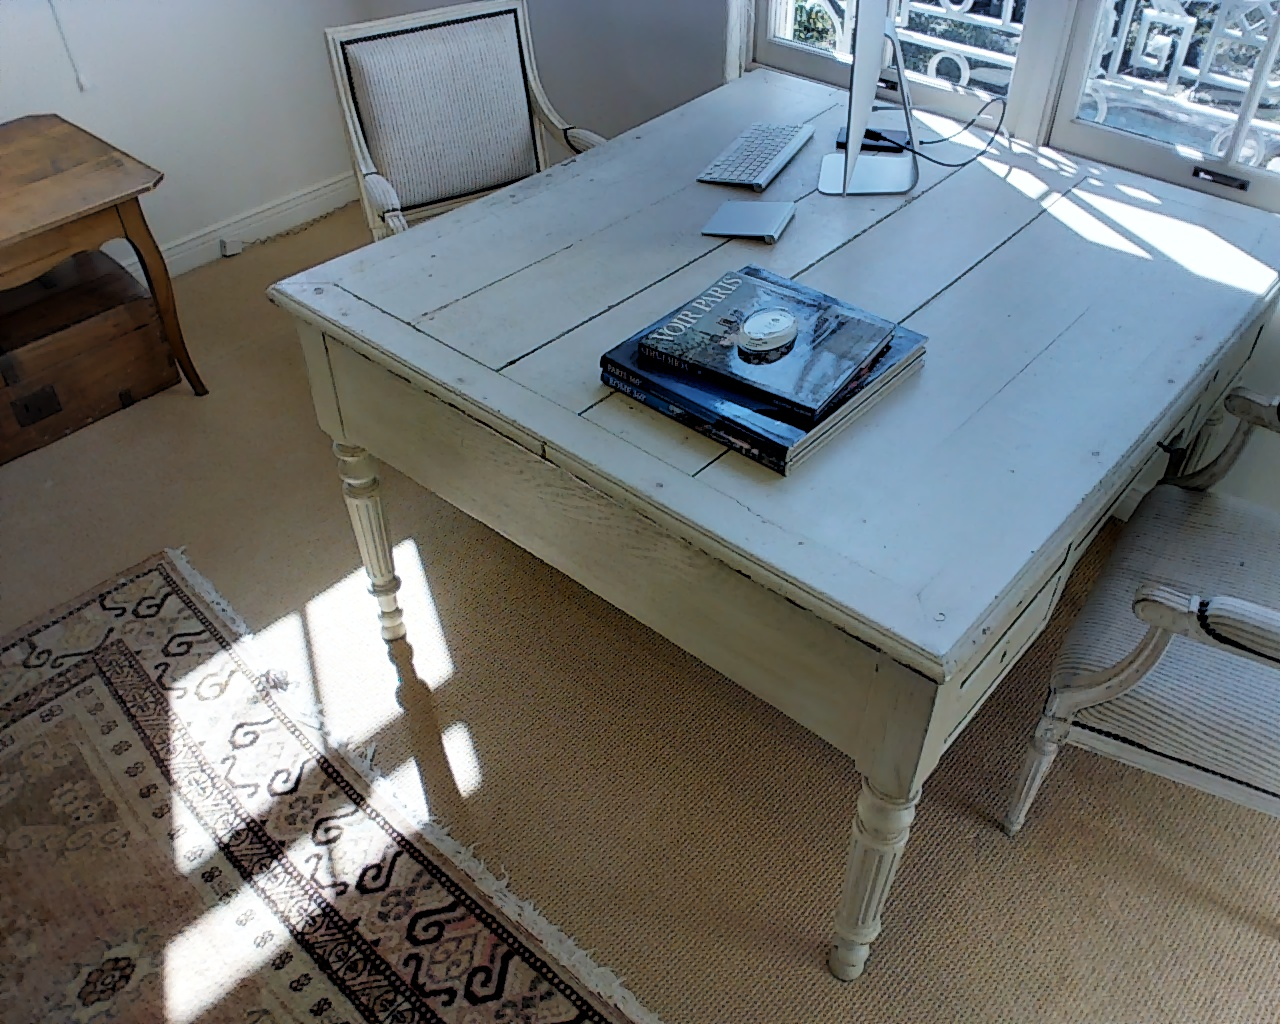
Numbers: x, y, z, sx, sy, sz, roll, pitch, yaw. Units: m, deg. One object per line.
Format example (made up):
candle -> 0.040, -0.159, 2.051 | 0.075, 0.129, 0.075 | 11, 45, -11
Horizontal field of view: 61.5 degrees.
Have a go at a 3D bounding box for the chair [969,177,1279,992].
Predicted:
chair -> 1.040, 0.130, 1.600 | 0.670, 0.870, 0.730 | 27, 49, 29

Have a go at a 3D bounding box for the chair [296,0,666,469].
chair -> -0.350, -0.720, 2.610 | 0.590, 0.920, 0.600 | -22, 45, -21

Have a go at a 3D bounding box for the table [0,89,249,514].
table -> -1.630, -0.490, 2.600 | 0.740, 0.620, 0.920 | 32, 52, 32

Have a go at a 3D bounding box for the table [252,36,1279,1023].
table -> 0.340, -0.170, 2.030 | 1.250, 0.780, 1.440 | 31, 51, 31

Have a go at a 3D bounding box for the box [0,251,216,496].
box -> -1.480, -0.330, 2.650 | 0.310, 0.290, 0.700 | 30, 51, 30
